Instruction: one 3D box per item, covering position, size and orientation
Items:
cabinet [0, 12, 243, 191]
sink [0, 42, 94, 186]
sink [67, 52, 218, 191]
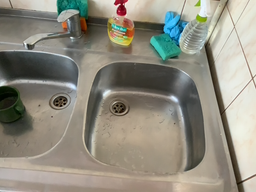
[{"bbox_3d":[-0.160,0.210,0.970,0.810,0.850,0.580,6,55,-2],"label":"cabinet"},{"bbox_3d":[-0.330,0.040,0.660,0.380,0.180,0.380,6,55,-2],"label":"sink"},{"bbox_3d":[0.040,0.080,0.670,0.350,0.180,0.380,6,55,-2],"label":"sink"}]
